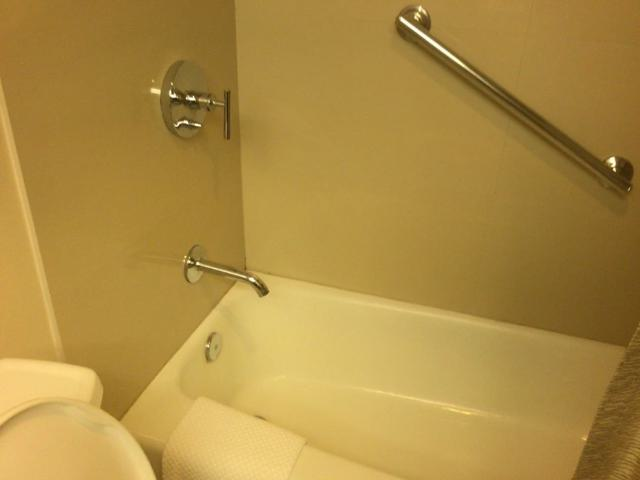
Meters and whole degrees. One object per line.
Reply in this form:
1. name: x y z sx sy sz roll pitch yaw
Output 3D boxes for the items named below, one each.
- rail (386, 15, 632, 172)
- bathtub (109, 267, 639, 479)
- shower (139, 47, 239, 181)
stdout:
1. rail: 0.420 -0.350 1.370 0.500 0.310 0.070 9 29 15
2. bathtub: 0.250 0.510 1.500 1.280 0.370 0.720 9 29 15
3. shower: -0.310 -0.320 1.430 0.090 0.250 0.290 9 29 15
